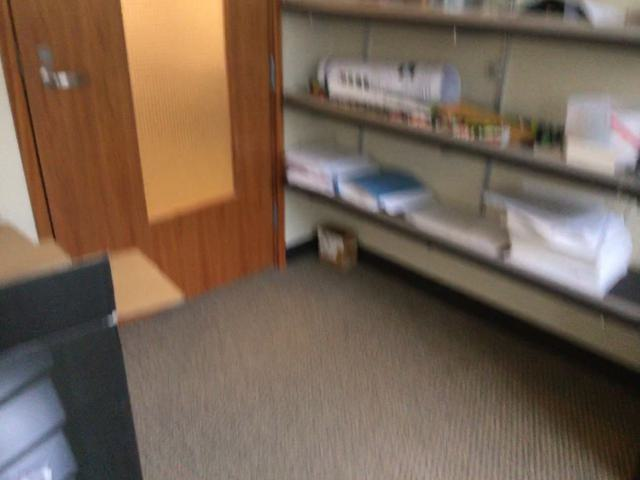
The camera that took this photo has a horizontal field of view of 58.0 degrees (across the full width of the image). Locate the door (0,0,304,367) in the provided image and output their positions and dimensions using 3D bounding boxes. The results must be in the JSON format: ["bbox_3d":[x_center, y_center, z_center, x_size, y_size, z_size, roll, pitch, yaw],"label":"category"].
[{"bbox_3d":[-0.510,-0.840,1.870,1.160,2.430,0.110,-21,34,-41],"label":"door"}]
